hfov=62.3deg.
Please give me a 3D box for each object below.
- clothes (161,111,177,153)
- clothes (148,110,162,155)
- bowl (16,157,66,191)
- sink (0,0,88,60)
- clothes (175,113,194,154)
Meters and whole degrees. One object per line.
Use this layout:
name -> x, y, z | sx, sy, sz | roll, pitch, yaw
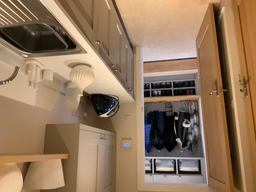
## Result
clothes -> 0.870, 0.770, 4.510 | 0.290, 0.850, 0.270 | -2, 166, 7
clothes -> 0.580, 0.790, 4.550 | 0.240, 0.920, 0.310 | -2, 166, 10
bowl -> -0.640, 0.590, 1.590 | 0.230, 0.240, 0.240 | -3, 166, 12
sink -> -0.590, -0.430, 1.340 | 0.510, 0.180, 0.510 | -2, 166, 11
clothes -> 1.170, 0.790, 4.440 | 0.330, 0.820, 0.350 | -3, 166, 12
